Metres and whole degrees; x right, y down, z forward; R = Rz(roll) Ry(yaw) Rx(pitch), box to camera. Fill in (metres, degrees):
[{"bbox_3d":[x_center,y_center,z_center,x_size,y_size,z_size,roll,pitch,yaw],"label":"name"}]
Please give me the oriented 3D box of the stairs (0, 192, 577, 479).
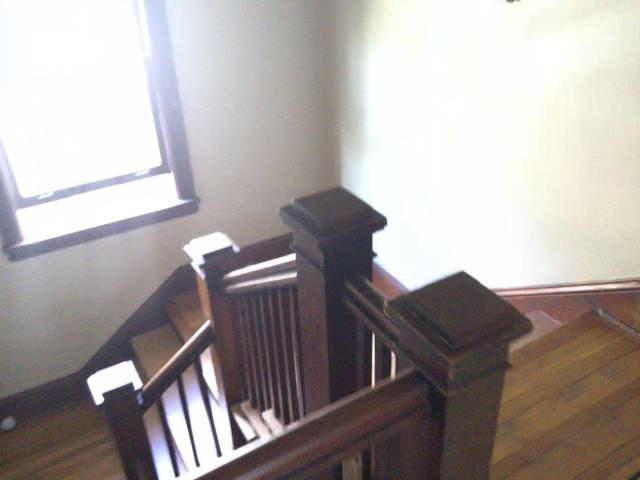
[{"bbox_3d":[-0.640,1.030,2.970,2.920,1.360,2.100,-18,27,-22],"label":"stairs"}]
